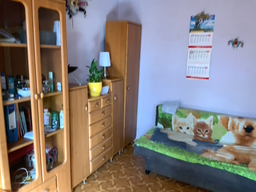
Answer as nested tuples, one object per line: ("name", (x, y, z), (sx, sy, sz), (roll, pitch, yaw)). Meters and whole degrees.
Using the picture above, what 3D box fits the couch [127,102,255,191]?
("couch", (1.080, 0.650, 2.590), (1.940, 0.740, 0.940), (8, 13, 26))

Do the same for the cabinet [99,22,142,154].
("cabinet", (-0.120, -0.120, 3.330), (0.430, 1.920, 0.490), (8, 13, 27))
